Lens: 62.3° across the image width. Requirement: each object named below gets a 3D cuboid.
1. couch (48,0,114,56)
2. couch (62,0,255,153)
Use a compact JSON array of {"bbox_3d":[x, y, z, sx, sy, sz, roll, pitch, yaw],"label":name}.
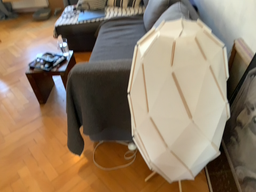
[{"bbox_3d":[-0.570,-1.080,2.920,0.600,0.670,0.850,-2,40,4],"label":"couch"},{"bbox_3d":[0.250,-0.610,2.270,1.110,0.670,2.390,-2,40,4],"label":"couch"}]
